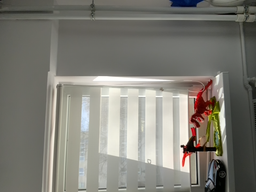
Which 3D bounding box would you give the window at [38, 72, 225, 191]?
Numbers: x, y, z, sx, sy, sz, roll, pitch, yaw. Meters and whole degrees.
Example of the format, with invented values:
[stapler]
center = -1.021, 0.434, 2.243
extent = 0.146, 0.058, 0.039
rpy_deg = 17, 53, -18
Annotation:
[window]
center = 0.030, 0.660, 1.400
extent = 0.100, 1.200, 1.620
rpy_deg = 104, 168, -82
